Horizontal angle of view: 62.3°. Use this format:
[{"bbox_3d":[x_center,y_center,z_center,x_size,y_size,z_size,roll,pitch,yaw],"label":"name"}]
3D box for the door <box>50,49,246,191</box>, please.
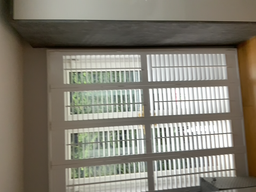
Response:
[{"bbox_3d":[0.260,0.320,2.310,0.080,2.080,1.650,155,113,-80],"label":"door"}]
